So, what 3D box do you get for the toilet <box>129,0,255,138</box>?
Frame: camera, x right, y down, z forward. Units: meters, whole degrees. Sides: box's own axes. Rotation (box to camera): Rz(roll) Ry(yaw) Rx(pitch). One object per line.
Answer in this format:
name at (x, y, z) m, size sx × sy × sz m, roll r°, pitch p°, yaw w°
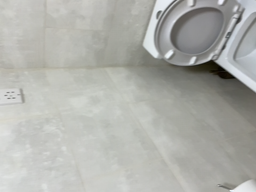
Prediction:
toilet at (0.550, -0.230, 1.060) m, size 0.590 × 0.840 × 0.420 m, roll 55°, pitch 139°, yaw 41°
